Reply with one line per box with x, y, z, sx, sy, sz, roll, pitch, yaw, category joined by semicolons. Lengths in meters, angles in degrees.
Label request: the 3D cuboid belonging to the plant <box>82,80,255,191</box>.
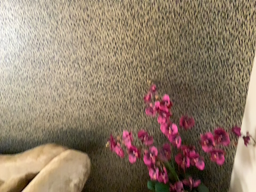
0.180;0.340;1.080;0.670;0.680;0.400;12;23;30;plant
